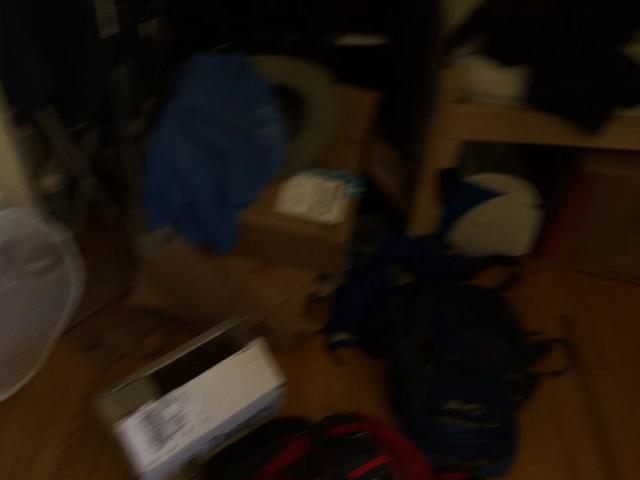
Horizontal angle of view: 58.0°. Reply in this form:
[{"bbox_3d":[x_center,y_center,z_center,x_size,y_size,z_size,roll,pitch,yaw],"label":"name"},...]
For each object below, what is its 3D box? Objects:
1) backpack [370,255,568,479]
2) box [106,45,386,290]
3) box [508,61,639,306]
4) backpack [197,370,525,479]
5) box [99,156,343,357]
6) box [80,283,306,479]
[{"bbox_3d":[0.340,0.310,1.470,0.400,0.160,0.560,4,44,3],"label":"backpack"},{"bbox_3d":[-0.150,-0.210,1.590,0.620,0.410,0.500,4,44,3],"label":"box"},{"bbox_3d":[0.970,-0.180,1.770,0.580,0.430,0.630,4,44,3],"label":"box"},{"bbox_3d":[0.080,0.560,1.200,0.650,0.190,0.490,4,44,3],"label":"backpack"},{"bbox_3d":[-0.230,0.040,1.600,0.550,0.340,0.390,4,44,3],"label":"box"},{"bbox_3d":[-0.290,0.350,1.390,0.420,0.190,0.290,-29,52,-28],"label":"box"}]
